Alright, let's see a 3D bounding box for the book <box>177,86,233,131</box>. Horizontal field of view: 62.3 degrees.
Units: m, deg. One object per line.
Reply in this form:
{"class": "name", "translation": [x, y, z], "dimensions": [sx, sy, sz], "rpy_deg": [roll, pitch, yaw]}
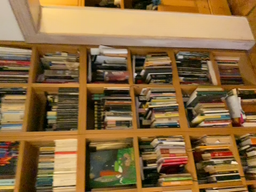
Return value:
{"class": "book", "translation": [0.660, 0.110, 1.880], "dimensions": [0.230, 0.340, 0.330], "rpy_deg": [110, 158, -63]}

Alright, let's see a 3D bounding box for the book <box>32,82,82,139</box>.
{"class": "book", "translation": [-0.550, 0.120, 1.720], "dimensions": [0.270, 0.320, 0.370], "rpy_deg": [107, 160, -60]}

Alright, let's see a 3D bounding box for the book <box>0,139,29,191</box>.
{"class": "book", "translation": [-0.890, 0.470, 1.420], "dimensions": [0.110, 0.360, 0.330], "rpy_deg": [106, 161, -58]}

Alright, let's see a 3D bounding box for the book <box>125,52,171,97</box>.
{"class": "book", "translation": [0.170, -0.190, 1.970], "dimensions": [0.280, 0.330, 0.320], "rpy_deg": [110, 158, -64]}

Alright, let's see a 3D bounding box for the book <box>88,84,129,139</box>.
{"class": "book", "translation": [-0.180, 0.130, 1.790], "dimensions": [0.250, 0.310, 0.390], "rpy_deg": [109, 159, -62]}

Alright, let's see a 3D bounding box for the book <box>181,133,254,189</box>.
{"class": "book", "translation": [0.710, 0.540, 1.760], "dimensions": [0.300, 0.380, 0.380], "rpy_deg": [108, 159, -61]}

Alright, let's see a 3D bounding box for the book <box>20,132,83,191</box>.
{"class": "book", "translation": [-0.530, 0.500, 1.580], "dimensions": [0.320, 0.370, 0.370], "rpy_deg": [107, 160, -60]}

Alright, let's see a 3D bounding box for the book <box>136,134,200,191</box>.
{"class": "book", "translation": [0.290, 0.540, 1.700], "dimensions": [0.310, 0.370, 0.380], "rpy_deg": [109, 159, -62]}

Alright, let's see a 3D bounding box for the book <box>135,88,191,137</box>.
{"class": "book", "translation": [0.280, 0.140, 1.820], "dimensions": [0.200, 0.380, 0.370], "rpy_deg": [109, 159, -62]}

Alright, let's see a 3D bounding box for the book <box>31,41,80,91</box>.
{"class": "book", "translation": [-0.600, -0.260, 1.820], "dimensions": [0.140, 0.350, 0.410], "rpy_deg": [109, 159, -62]}

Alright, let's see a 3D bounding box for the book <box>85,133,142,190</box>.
{"class": "book", "translation": [-0.130, 0.510, 1.640], "dimensions": [0.300, 0.380, 0.360], "rpy_deg": [108, 159, -61]}
